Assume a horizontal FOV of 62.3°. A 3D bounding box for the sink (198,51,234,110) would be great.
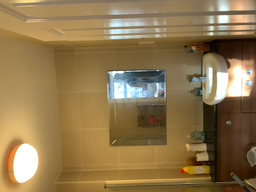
[{"bbox_3d":[0.800,-0.150,1.980,0.390,0.170,0.490,-92,0,-83],"label":"sink"}]
